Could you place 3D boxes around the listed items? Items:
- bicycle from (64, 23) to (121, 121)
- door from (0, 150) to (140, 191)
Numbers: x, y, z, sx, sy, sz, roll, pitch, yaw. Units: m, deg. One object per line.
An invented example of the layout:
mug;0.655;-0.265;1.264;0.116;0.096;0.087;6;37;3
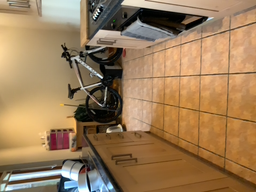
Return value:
bicycle;-0.710;-0.430;4.100;0.550;0.980;1.700;-162;72;-69
door;-0.930;1.100;3.140;0.850;2.050;0.120;-161;71;-69
